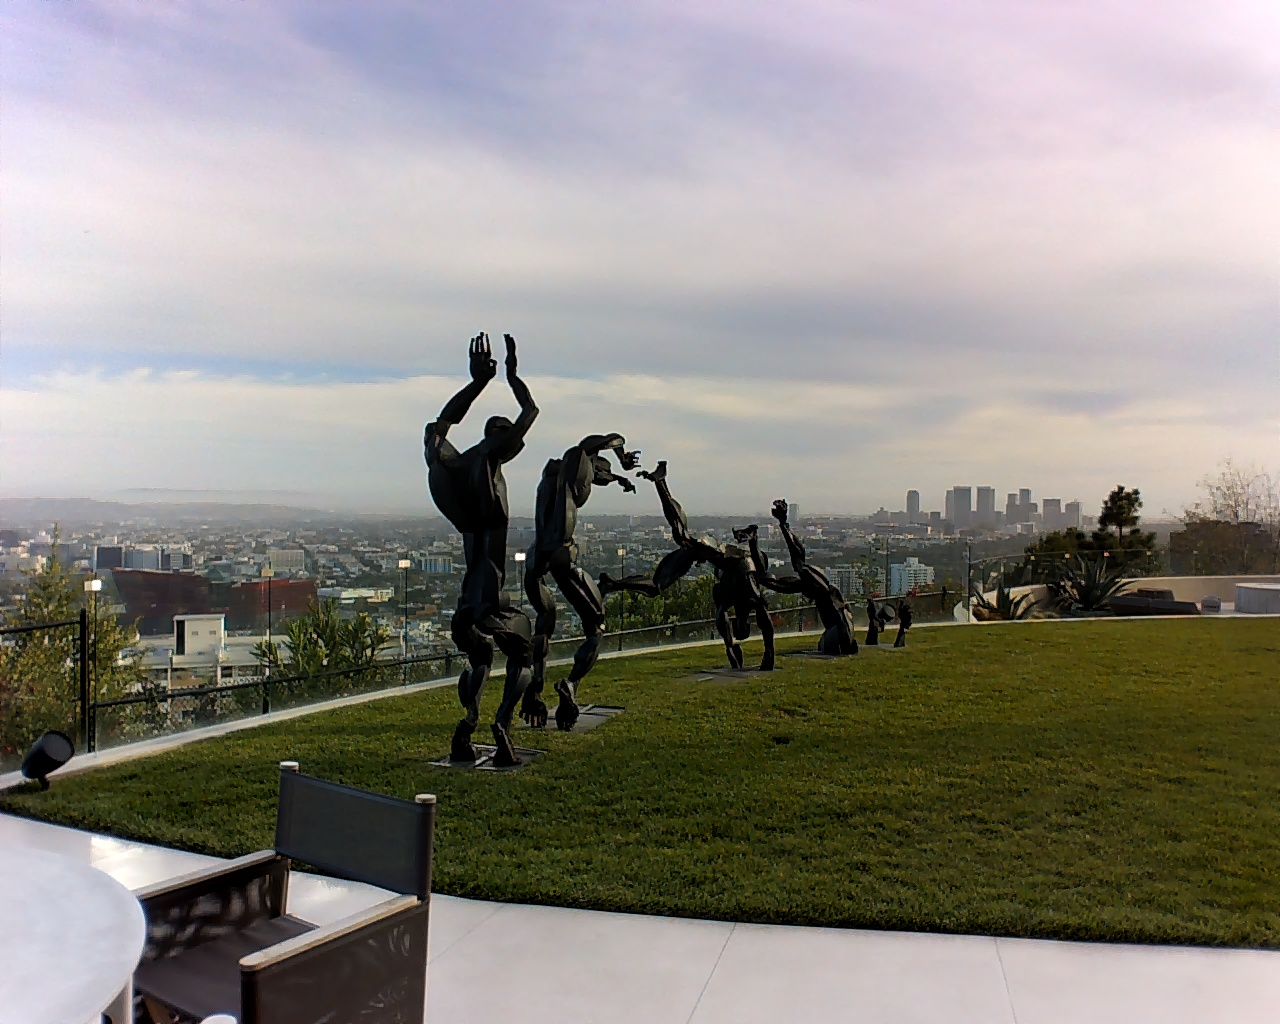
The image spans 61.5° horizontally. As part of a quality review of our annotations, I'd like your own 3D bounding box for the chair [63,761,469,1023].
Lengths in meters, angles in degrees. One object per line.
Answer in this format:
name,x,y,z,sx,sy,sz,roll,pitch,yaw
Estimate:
chair,-0.850,1.090,2.470,0.680,0.830,0.590,1,1,34
